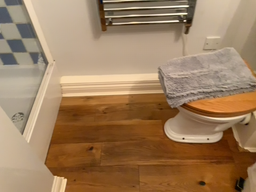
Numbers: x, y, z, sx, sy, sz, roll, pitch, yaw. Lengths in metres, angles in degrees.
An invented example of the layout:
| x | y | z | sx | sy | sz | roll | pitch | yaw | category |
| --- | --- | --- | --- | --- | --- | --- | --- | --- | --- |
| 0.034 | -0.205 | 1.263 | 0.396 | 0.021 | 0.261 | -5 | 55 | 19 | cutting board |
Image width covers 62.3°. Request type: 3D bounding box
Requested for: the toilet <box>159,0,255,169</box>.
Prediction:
| x | y | z | sx | sy | sz | roll | pitch | yaw | category |
| --- | --- | --- | --- | --- | --- | --- | --- | --- | --- |
| 0.510 | -0.120 | 0.950 | 0.620 | 0.980 | 0.520 | -1 | 49 | 2 | toilet |
